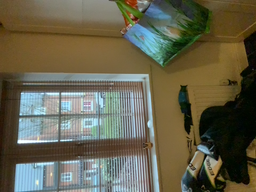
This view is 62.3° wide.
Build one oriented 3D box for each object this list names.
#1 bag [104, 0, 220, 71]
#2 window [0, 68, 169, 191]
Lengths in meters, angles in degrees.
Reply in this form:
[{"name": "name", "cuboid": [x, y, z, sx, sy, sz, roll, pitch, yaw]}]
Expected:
[{"name": "bag", "cuboid": [0.150, -0.410, 1.330, 0.530, 0.540, 0.310, 127, 141, -71]}, {"name": "window", "cuboid": [-0.300, 0.350, 1.650, 0.100, 1.210, 1.130, 133, 136, -73]}]
